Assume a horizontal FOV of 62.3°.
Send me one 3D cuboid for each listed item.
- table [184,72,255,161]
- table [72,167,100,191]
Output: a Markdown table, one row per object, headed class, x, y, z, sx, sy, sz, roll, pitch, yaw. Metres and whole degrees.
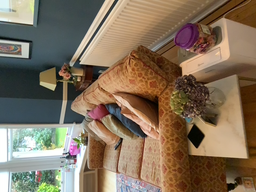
| class | x | y | z | sx | sy | sz | roll | pitch | yaw |
| --- | --- | --- | --- | --- | --- | --- | --- | --- | --- |
| table | 0.680 | 0.140 | 1.290 | 0.360 | 0.510 | 0.430 | -26 | 64 | 61 |
| table | -0.880 | 2.010 | 4.400 | 0.450 | 0.460 | 0.960 | -25 | 65 | 61 |
